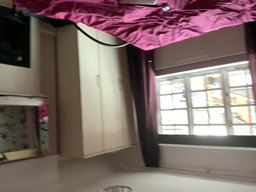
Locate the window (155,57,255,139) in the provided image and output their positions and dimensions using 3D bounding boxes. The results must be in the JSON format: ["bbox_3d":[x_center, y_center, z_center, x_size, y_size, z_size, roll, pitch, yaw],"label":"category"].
[{"bbox_3d":[1.230,0.100,3.540,1.690,1.180,0.050,-6,174,36],"label":"window"}]

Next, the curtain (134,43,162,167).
[{"bbox_3d":[0.350,0.140,3.750,0.290,2.090,0.230,-7,174,38],"label":"curtain"}]

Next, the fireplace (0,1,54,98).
[{"bbox_3d":[-1.500,-0.560,2.750,0.290,1.130,1.010,-6,174,36],"label":"fireplace"}]
